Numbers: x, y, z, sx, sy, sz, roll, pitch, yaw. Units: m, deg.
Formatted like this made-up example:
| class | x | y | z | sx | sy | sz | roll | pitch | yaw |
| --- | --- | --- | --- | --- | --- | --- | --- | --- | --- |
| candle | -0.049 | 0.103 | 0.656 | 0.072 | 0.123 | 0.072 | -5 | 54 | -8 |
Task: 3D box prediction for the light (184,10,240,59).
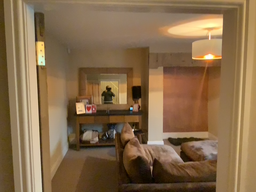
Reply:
| class | x | y | z | sx | sy | sz | roll | pitch | yaw |
| --- | --- | --- | --- | --- | --- | --- | --- | --- | --- |
| light | 1.110 | -0.800 | 2.860 | 0.350 | 0.410 | 0.470 | -44 | -82 | 1 |
